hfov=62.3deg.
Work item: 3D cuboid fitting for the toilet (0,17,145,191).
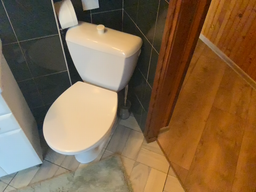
[{"bbox_3d":[-0.220,0.080,1.260,0.400,0.750,0.650,16,51,10],"label":"toilet"}]
